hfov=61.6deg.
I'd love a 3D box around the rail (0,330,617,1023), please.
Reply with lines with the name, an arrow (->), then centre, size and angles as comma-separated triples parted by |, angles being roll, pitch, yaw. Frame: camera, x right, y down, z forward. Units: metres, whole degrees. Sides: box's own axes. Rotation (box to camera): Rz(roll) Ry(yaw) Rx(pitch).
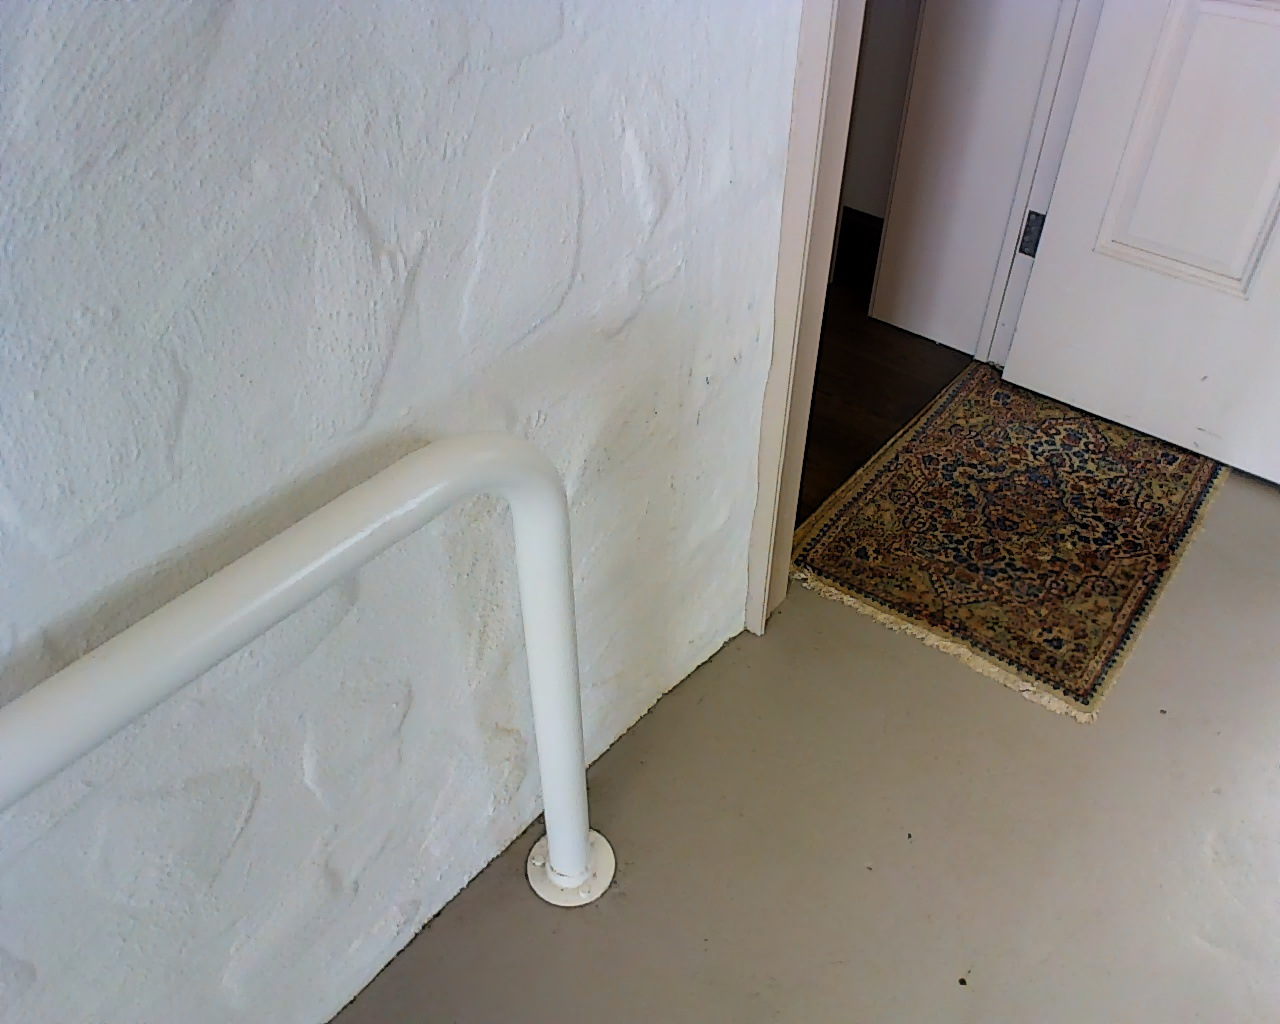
rail -> -0.480, 0.490, 1.000 | 0.140, 0.870, 1.250 | 29, 50, 27
